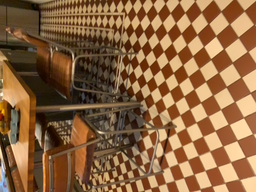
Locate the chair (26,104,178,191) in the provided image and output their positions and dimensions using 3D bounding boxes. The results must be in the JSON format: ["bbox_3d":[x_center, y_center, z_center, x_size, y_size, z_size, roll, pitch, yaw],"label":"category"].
[{"bbox_3d":[-0.180,0.380,1.560,0.490,0.950,0.420,32,118,48],"label":"chair"}]
